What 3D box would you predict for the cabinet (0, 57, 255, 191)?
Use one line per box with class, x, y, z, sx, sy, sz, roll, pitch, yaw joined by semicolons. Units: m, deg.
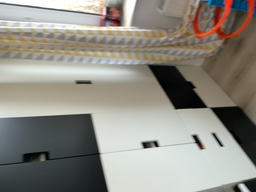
cabinet;0.000;0.300;1.640;1.190;1.910;0.550;-114;32;-43
